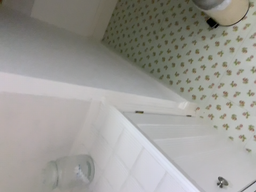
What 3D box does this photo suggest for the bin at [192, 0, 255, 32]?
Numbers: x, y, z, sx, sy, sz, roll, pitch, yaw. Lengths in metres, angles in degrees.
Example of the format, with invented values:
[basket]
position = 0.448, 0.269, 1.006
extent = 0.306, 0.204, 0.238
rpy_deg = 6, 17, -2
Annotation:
[bin]
position = 0.500, -0.490, 1.080
extent = 0.140, 0.300, 0.200
rpy_deg = 40, 111, 39
